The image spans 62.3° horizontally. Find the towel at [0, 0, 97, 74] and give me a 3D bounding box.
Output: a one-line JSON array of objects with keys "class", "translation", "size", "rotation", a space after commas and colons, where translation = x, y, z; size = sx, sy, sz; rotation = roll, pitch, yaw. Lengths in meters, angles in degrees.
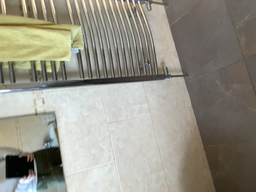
[{"class": "towel", "translation": [-0.450, -0.280, 1.020], "size": [0.140, 0.530, 0.300], "rotation": [-32, 68, 55]}]
